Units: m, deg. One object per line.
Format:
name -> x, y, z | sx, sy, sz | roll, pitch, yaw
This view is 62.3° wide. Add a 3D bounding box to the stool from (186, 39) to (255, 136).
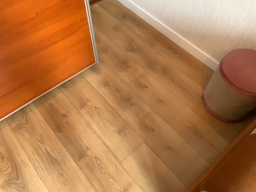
stool -> 0.640, -0.040, 1.300 | 0.340, 0.410, 0.300 | -35, 66, -22
